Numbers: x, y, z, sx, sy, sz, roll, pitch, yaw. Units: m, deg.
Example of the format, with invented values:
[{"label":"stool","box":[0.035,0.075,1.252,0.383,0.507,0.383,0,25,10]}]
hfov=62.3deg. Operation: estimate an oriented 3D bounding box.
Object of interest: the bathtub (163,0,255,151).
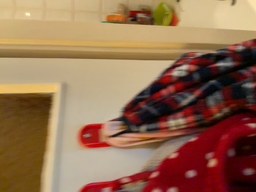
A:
[{"label":"bathtub","box":[0.810,-0.430,1.570,0.710,0.560,1.420,105,159,-50]}]
